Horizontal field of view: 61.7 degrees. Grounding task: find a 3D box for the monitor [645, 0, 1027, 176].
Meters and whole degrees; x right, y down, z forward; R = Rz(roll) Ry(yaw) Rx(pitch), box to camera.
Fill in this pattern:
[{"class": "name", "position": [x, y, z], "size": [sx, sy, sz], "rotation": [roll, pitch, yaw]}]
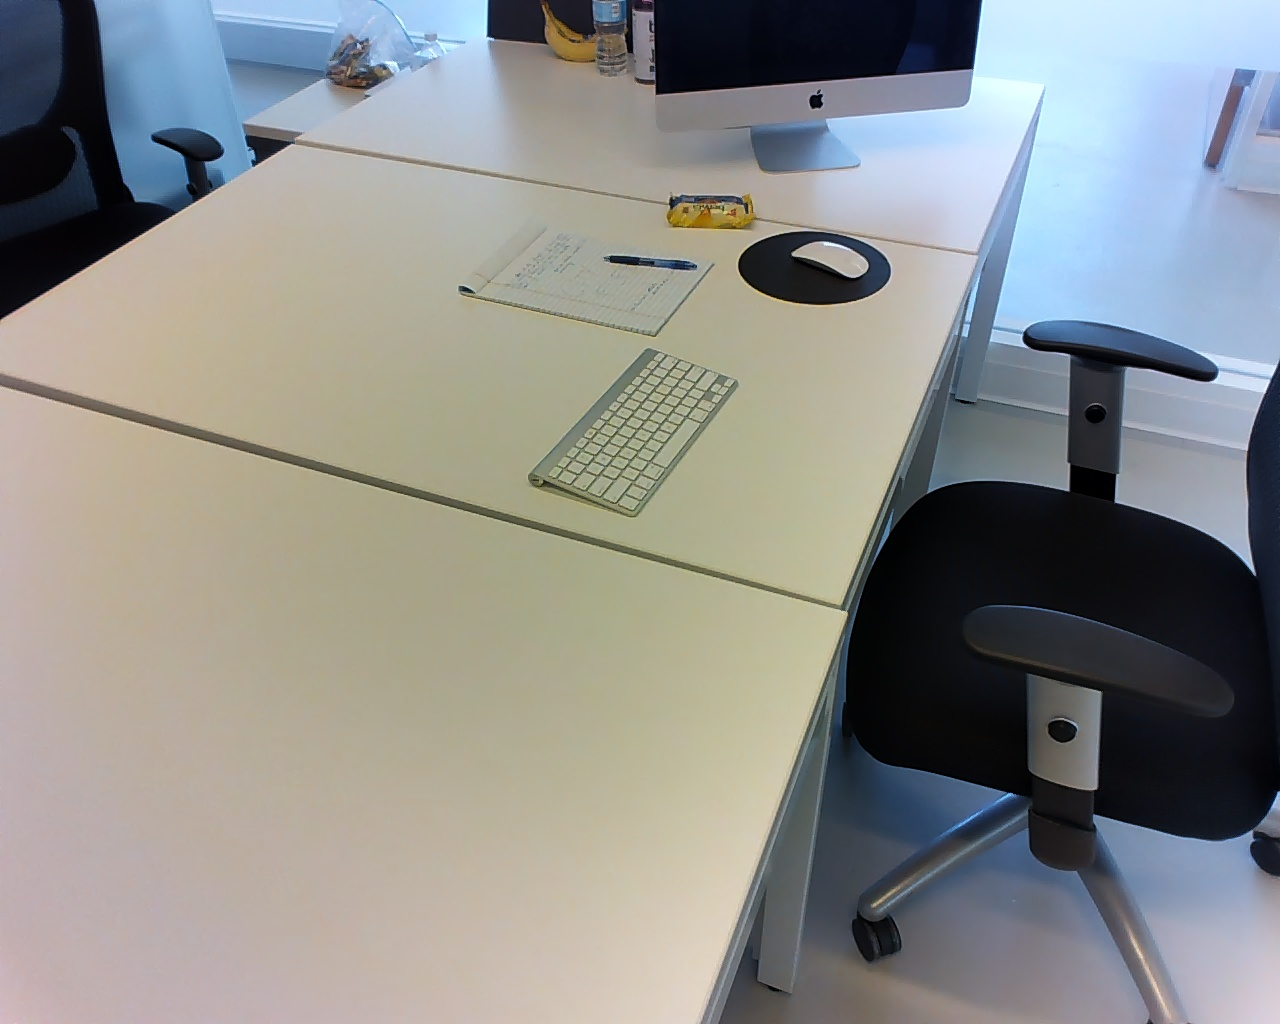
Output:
[{"class": "monitor", "position": [0.300, -0.790, 1.680], "size": [0.570, 0.440, 0.150], "rotation": [-6, 41, -5]}]
